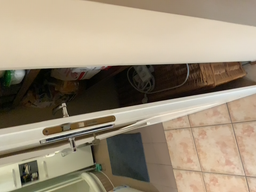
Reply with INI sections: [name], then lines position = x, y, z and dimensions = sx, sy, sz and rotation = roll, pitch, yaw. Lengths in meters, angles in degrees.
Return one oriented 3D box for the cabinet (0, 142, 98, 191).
[cabinet]
position = -1.280, 1.000, 2.810
dimensions = 0.280, 1.760, 0.340
rotation = -25, 76, 54
